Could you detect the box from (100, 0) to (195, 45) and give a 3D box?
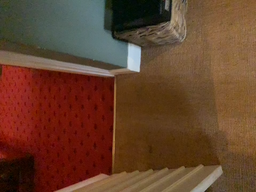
[{"bbox_3d":[0.130,-0.630,1.280,0.410,0.410,0.500,1,90,37],"label":"box"}]
